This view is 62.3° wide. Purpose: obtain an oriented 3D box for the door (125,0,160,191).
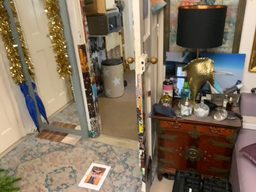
[{"bbox_3d":[0.160,-0.180,1.650,0.030,1.940,0.890,5,27,17],"label":"door"}]
